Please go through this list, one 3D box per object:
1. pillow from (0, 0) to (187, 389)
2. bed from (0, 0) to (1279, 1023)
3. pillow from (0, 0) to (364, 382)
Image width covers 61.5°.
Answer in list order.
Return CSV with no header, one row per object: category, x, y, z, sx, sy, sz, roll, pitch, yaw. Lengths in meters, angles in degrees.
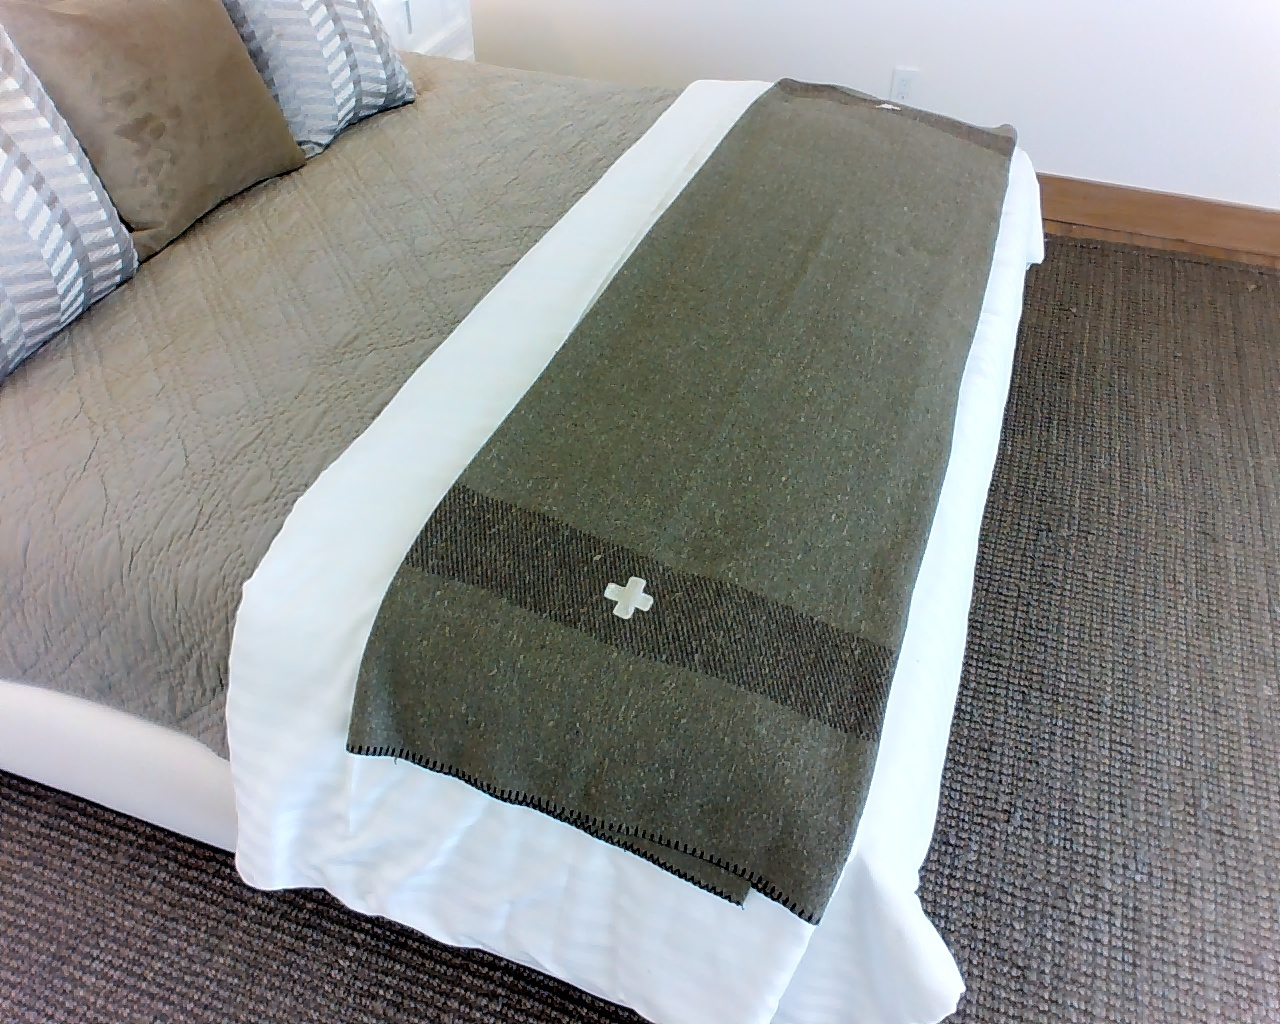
pillow,-0.990,-0.480,1.570,0.280,0.420,0.490,13,43,14
bed,-0.470,-0.750,1.880,2.460,1.770,2.240,13,43,14
pillow,-0.980,-0.710,1.840,0.490,0.410,1.010,13,43,14
